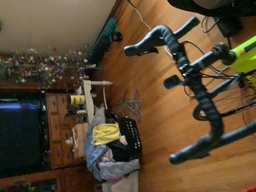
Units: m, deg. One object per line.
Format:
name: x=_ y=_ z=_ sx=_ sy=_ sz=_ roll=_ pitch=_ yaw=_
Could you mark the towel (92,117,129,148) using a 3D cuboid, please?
towel: x=-0.210 y=0.420 z=2.450 sx=0.240 sy=0.300 sz=0.260 roll=-51 pitch=48 yaw=47
